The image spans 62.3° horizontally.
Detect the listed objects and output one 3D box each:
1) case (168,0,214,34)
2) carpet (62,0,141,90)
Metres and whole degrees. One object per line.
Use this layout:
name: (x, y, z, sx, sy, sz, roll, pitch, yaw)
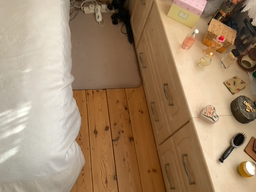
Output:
case: (0.360, -0.490, 1.220, 0.170, 0.120, 0.160, 35, 60, 6)
carpet: (-0.240, -0.450, 1.720, 0.540, 0.030, 0.880, -3, 63, -15)
